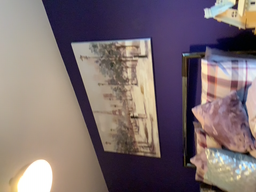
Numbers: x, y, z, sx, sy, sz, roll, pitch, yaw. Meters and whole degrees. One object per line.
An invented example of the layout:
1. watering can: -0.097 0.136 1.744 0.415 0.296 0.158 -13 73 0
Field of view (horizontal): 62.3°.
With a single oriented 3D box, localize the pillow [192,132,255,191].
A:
1. pillow: 0.670 0.500 1.440 0.170 0.350 0.460 -69 -40 -54
